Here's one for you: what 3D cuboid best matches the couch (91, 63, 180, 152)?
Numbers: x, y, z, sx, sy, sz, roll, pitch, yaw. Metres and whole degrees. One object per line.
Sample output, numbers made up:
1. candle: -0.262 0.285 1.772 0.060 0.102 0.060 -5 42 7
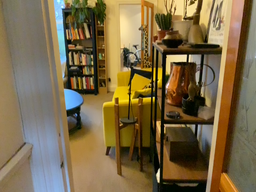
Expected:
1. couch: 0.100 0.020 3.470 1.010 0.790 1.970 0 18 1
